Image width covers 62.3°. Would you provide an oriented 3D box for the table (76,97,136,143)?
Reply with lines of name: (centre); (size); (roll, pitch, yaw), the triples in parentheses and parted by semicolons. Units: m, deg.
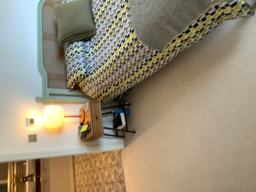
table: (-0.290, 0.310, 2.690); (0.370, 0.600, 0.460); (-36, 58, 51)
